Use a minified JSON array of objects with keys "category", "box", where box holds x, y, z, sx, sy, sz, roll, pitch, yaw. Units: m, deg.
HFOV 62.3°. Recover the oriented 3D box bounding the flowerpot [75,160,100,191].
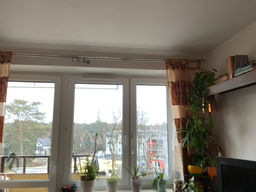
[{"category":"flowerpot","box":[-0.460,0.940,2.430,0.240,0.370,0.240,1,-8,-3]}]
